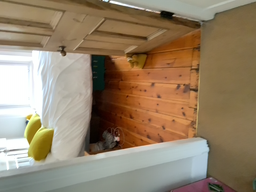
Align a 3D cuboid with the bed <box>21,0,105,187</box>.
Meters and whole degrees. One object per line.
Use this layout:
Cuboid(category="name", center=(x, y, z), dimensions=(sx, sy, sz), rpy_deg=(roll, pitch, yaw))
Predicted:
Cuboid(category="bed", center=(-1.120, -0.130, 3.240), dimensions=(1.740, 0.760, 2.150), rpy_deg=(11, 100, 57))
